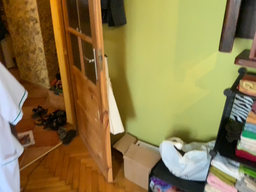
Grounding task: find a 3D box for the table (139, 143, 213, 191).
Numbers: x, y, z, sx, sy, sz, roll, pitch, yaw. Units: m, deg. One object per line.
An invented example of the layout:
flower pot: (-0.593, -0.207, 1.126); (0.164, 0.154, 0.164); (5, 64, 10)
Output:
table: (0.370, 0.680, 1.670); (0.420, 0.340, 0.380); (17, 30, 30)
